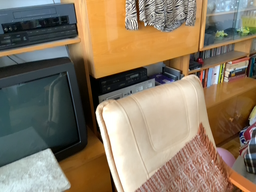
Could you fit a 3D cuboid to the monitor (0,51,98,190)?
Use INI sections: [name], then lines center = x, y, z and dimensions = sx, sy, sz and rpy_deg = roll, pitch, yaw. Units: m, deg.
[monitor]
center = -0.600, 0.100, 1.150
dimensions = 0.700, 0.500, 0.430
rpy_deg = -19, 30, -30
